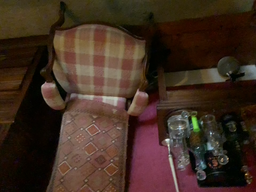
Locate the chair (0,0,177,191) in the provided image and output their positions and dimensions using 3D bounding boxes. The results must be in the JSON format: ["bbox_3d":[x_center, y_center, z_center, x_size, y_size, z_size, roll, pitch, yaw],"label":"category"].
[{"bbox_3d":[-0.190,0.020,1.360,0.640,1.150,0.790,6,141,-5],"label":"chair"}]
